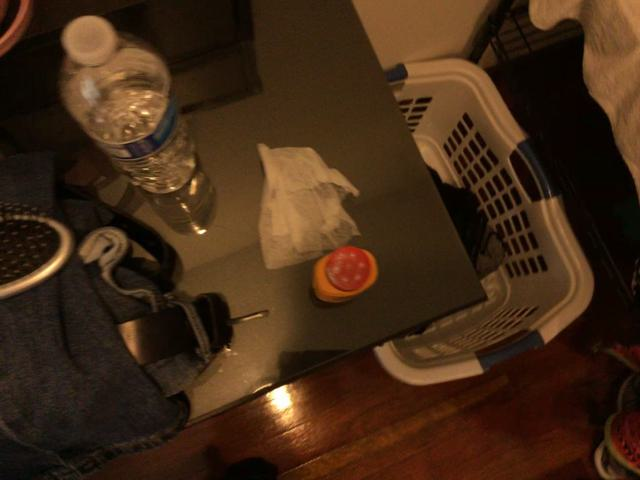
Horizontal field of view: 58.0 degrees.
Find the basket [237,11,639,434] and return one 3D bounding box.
[{"bbox_3d":[0.250,-0.030,1.300,0.620,0.660,0.360,-25,-13,-8],"label":"basket"}]
